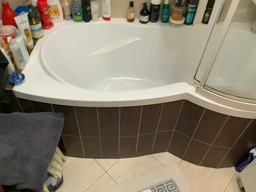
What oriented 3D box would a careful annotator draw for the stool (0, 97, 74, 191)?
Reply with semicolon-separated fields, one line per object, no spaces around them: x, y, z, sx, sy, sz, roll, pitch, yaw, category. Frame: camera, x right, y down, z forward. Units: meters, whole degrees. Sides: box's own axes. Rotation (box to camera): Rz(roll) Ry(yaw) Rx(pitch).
-0.530;0.320;1.130;0.330;0.500;0.380;3;48;-1;stool

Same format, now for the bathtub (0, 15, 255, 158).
0.190;-0.080;1.450;1.680;0.520;0.760;3;48;0;bathtub
